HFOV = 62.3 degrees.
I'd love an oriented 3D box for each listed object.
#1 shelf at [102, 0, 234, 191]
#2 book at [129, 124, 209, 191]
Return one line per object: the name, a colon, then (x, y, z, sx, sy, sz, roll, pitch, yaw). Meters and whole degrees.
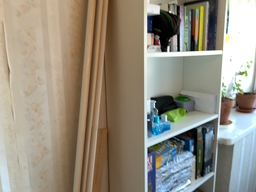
shelf: (0.220, 0.320, 1.140, 0.640, 1.810, 0.260, -11, 16, -41)
book: (0.230, 0.360, 1.120, 0.460, 0.290, 0.160, -11, 16, -42)
